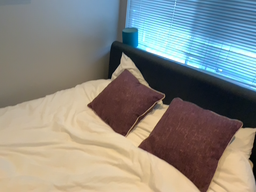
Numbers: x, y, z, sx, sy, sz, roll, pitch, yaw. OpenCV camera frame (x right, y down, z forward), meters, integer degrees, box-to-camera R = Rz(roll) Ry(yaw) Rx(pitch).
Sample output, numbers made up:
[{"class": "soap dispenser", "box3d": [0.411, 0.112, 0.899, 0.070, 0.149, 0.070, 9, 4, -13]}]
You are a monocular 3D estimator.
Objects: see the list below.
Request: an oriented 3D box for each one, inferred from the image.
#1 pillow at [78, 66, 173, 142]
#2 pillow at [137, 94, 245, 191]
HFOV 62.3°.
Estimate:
[{"class": "pillow", "box3d": [-0.020, 0.020, 1.590, 0.550, 0.270, 0.410, -20, 38, -39]}, {"class": "pillow", "box3d": [0.380, 0.230, 1.280, 0.410, 0.210, 0.490, 29, 36, 35]}]
